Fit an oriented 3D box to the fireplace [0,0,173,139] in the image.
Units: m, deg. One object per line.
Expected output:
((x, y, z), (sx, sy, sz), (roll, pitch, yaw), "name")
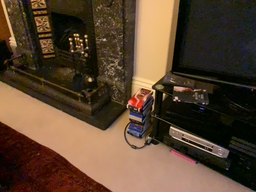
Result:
((-0.590, -0.630, 1.870), (1.770, 1.270, 0.640), (21, 40, 26), "fireplace")
